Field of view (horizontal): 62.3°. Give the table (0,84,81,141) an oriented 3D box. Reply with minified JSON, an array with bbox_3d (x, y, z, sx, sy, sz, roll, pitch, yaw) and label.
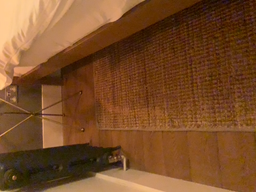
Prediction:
[{"bbox_3d":[-0.720,0.120,1.620,0.360,0.600,0.350,-6,84,47],"label":"table"}]

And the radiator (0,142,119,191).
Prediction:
[{"bbox_3d":[-0.430,0.370,1.200,0.450,0.610,0.120,-9,82,47],"label":"radiator"}]
